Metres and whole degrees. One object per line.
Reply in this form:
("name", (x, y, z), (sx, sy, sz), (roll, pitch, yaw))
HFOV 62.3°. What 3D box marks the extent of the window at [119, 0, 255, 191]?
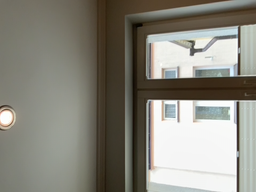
("window", (0.670, 0.080, 1.410), (0.190, 1.480, 1.580), (0, -91, -70))
